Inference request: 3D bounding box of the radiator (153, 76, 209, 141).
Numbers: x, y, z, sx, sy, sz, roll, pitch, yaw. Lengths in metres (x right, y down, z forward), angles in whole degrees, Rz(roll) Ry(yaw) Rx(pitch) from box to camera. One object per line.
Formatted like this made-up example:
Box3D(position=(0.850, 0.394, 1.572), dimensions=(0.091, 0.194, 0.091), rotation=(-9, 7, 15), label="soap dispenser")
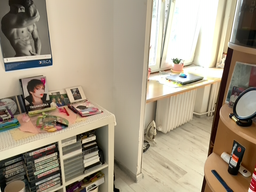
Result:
Box3D(position=(0.740, 0.140, 2.910), dimensions=(0.900, 0.640, 0.210), rotation=(-17, 29, -40), label="radiator")
